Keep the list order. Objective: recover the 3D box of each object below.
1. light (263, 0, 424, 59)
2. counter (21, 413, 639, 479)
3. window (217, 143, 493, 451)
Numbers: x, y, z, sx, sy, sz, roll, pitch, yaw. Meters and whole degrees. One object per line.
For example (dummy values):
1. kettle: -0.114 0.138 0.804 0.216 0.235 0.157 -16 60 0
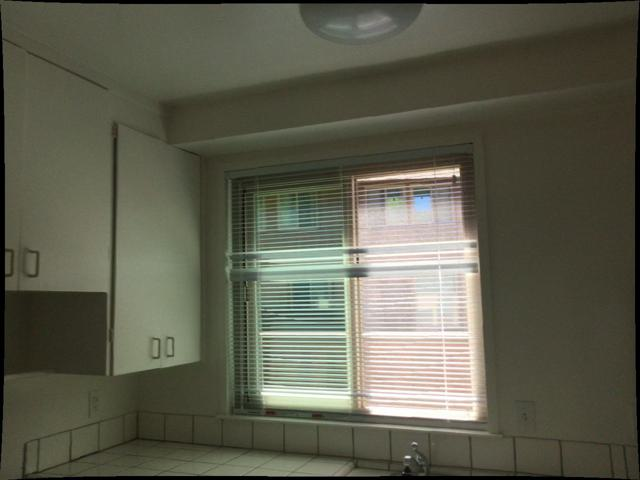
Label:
1. light: 0.070 -0.631 1.590 0.369 0.120 0.270 -2 -2 24
2. counter: -0.040 0.881 2.050 2.117 0.170 0.640 -2 -2 24
3. window: 0.110 0.220 2.440 1.148 1.122 0.220 -2 -2 24
